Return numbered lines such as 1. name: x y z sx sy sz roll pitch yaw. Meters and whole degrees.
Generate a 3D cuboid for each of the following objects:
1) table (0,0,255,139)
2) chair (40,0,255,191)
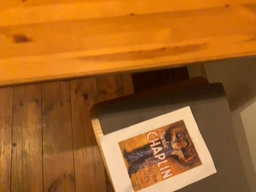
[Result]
1. table: -0.040 -0.390 0.900 0.760 0.750 0.940 -8 73 -7
2. chair: 0.160 0.210 0.650 0.480 0.890 0.550 -14 74 -9
